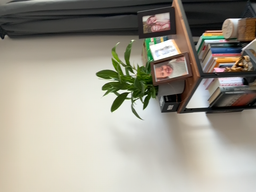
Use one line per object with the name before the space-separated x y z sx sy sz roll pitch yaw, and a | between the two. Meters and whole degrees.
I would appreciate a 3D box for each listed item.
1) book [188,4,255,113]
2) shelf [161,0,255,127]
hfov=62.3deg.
book | 0.590 -0.210 1.230 0.370 0.280 0.480 93 172 -59
shelf | 1.000 -0.230 1.250 0.440 1.460 0.580 93 172 -60
